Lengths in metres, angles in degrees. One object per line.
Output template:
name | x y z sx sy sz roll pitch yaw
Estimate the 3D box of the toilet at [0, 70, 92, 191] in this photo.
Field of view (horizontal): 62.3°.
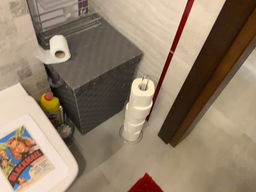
toilet | -0.460 0.290 0.910 0.360 0.480 0.530 -32 64 -28
